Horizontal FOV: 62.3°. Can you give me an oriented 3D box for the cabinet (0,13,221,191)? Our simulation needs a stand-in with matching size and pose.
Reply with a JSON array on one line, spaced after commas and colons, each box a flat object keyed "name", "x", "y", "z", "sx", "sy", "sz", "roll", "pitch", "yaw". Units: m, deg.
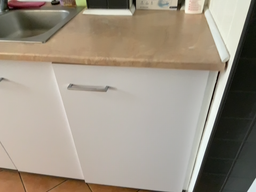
[{"name": "cabinet", "x": -0.550, "y": 0.030, "z": 1.210, "sx": 1.770, "sy": 0.790, "sz": 0.590, "roll": 5, "pitch": 39, "yaw": 8}]

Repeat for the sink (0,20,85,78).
[{"name": "sink", "x": -0.460, "y": -0.240, "z": 1.020, "sx": 0.410, "sy": 0.130, "sz": 0.310, "roll": 5, "pitch": 39, "yaw": 8}]
